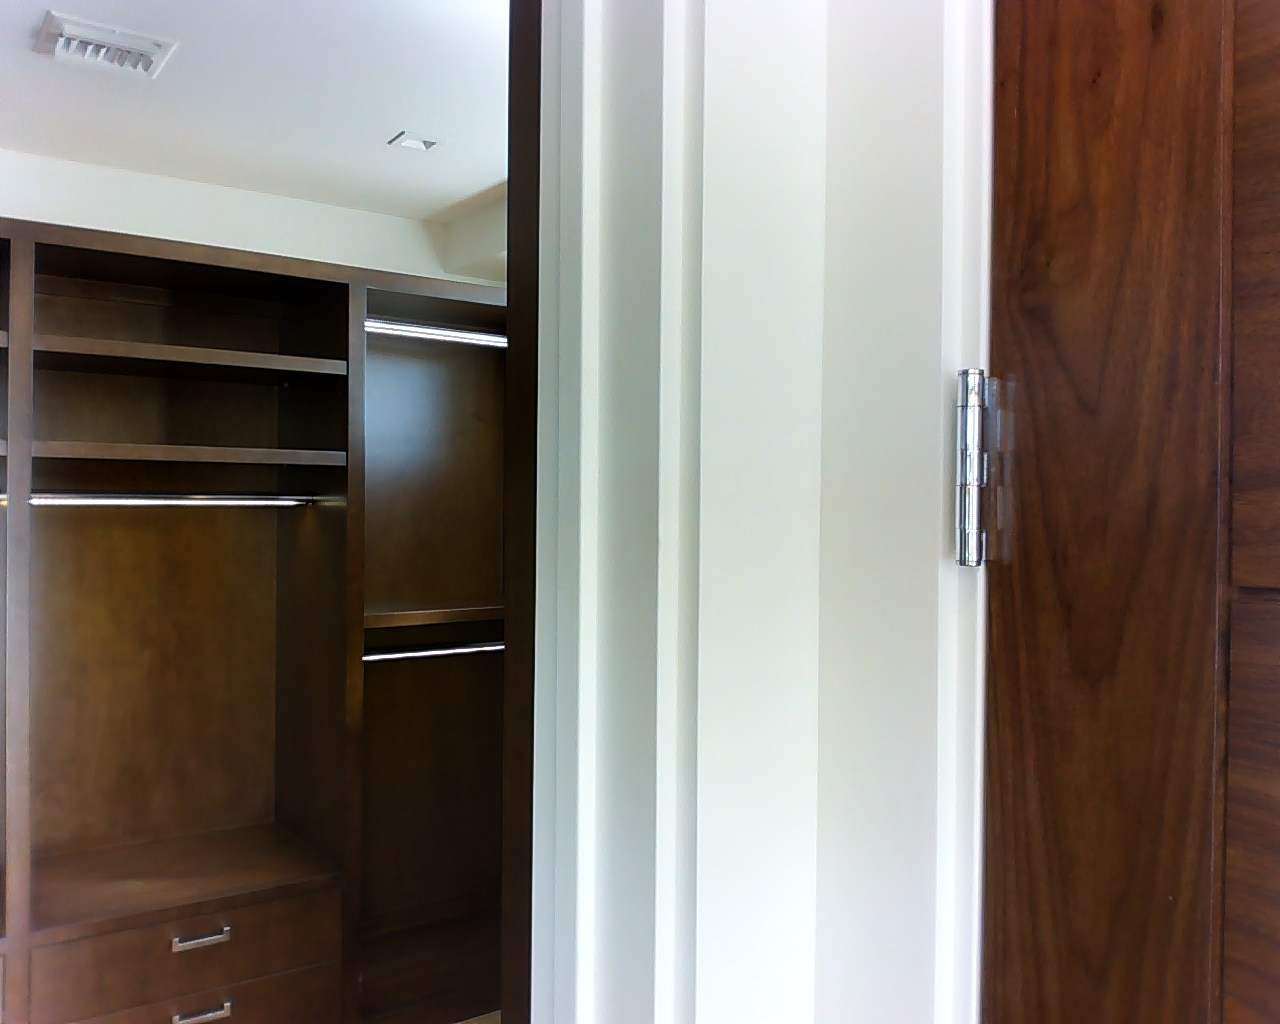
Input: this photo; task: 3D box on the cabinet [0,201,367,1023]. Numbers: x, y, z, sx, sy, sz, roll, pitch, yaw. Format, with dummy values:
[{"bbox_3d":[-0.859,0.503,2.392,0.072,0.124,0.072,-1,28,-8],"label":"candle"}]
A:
[{"bbox_3d":[-1.630,0.400,2.780,1.660,2.240,0.630,0,0,-36],"label":"cabinet"}]
